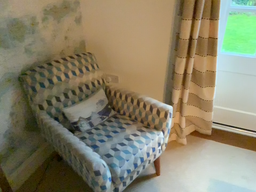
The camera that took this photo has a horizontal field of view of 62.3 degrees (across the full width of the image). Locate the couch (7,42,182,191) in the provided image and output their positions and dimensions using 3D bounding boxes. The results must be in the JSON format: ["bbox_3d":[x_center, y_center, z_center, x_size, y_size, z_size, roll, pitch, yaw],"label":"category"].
[{"bbox_3d":[-0.230,0.200,1.610,0.900,0.870,0.730,26,41,36],"label":"couch"}]
